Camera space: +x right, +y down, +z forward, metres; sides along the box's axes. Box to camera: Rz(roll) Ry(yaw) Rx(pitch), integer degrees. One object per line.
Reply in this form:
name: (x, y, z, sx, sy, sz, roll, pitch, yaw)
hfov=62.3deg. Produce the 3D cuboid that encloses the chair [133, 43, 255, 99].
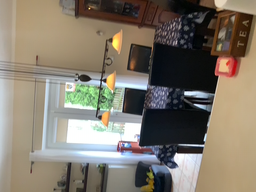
chair: (0.730, -0.250, 2.450, 0.660, 1.190, 0.430, -166, 81, -78)

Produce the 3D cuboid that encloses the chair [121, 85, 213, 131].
chair: (0.540, 0.170, 3.230, 0.670, 1.180, 0.430, -128, 45, -74)

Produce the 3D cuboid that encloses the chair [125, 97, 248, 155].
chair: (0.640, 0.340, 2.570, 0.680, 1.210, 0.420, -130, 47, -74)

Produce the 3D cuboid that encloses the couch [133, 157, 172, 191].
couch: (0.450, 1.620, 4.130, 0.590, 0.510, 0.590, -133, 50, -75)
